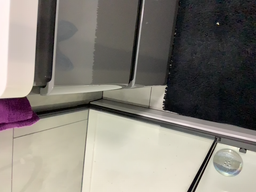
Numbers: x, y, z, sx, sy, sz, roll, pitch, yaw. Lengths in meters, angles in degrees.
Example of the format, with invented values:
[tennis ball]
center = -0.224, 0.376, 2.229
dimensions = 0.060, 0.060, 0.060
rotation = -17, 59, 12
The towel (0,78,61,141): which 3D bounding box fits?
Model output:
[towel]
center = -0.450, 0.040, 0.620
dimensions = 0.150, 0.520, 0.170
rotation = 10, 99, 28
